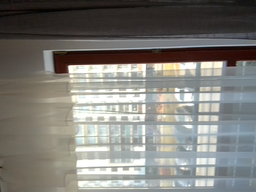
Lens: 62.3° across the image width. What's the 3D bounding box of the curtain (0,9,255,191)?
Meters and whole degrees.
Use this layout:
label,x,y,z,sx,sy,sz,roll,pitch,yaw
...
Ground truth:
label,x,y,z,sx,sy,sz,roll,pitch,yaw
curtain,0.410,0.980,1.560,0.210,2.740,3.010,-80,-10,-80
